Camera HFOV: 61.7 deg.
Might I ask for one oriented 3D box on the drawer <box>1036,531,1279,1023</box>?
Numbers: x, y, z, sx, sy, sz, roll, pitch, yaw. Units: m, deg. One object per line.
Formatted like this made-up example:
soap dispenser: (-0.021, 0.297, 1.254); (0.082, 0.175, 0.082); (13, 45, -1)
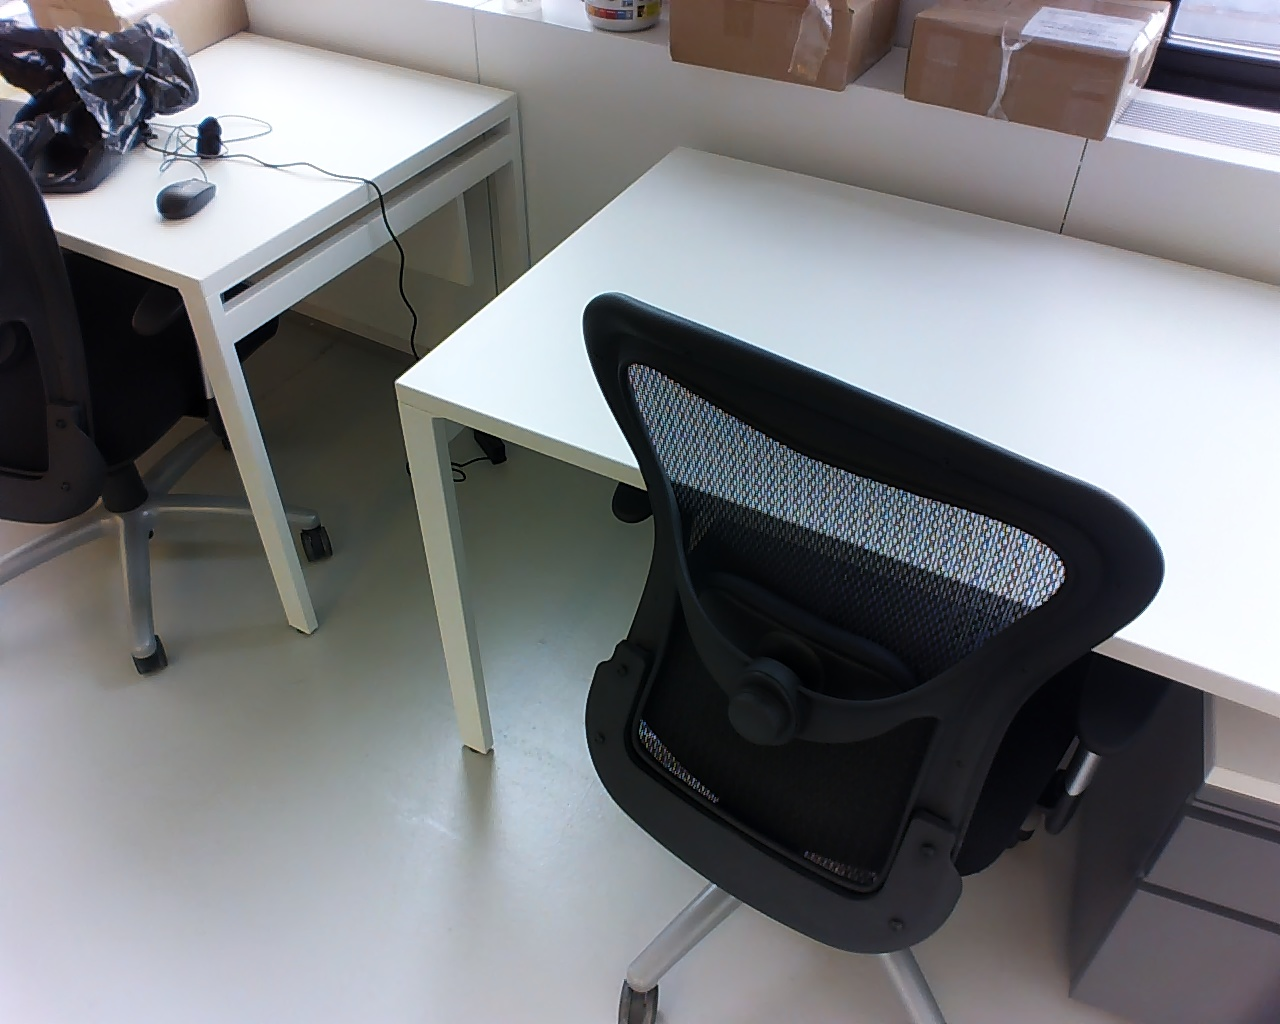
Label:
drawer: (0.740, 0.390, 1.340); (0.240, 0.590, 0.370); (22, 46, 23)

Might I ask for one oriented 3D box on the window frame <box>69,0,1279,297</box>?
window frame: (0.270, -0.640, 1.720); (3.640, 0.170, 0.110); (22, 46, 23)

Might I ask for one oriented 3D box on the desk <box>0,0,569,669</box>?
desk: (-0.930, -0.460, 2.160); (1.290, 0.740, 0.840); (22, 46, 23)
